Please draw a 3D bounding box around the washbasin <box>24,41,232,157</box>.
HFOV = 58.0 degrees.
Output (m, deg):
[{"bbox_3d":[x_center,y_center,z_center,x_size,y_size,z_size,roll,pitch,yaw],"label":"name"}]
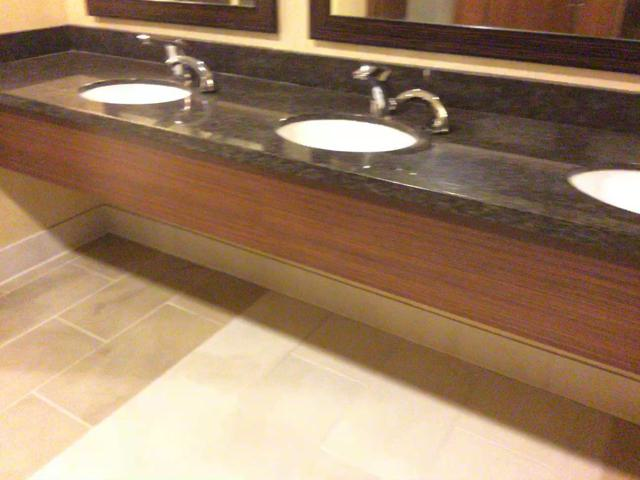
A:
[{"bbox_3d":[-0.600,-0.470,1.840,0.520,0.240,0.350,17,29,28],"label":"washbasin"}]
